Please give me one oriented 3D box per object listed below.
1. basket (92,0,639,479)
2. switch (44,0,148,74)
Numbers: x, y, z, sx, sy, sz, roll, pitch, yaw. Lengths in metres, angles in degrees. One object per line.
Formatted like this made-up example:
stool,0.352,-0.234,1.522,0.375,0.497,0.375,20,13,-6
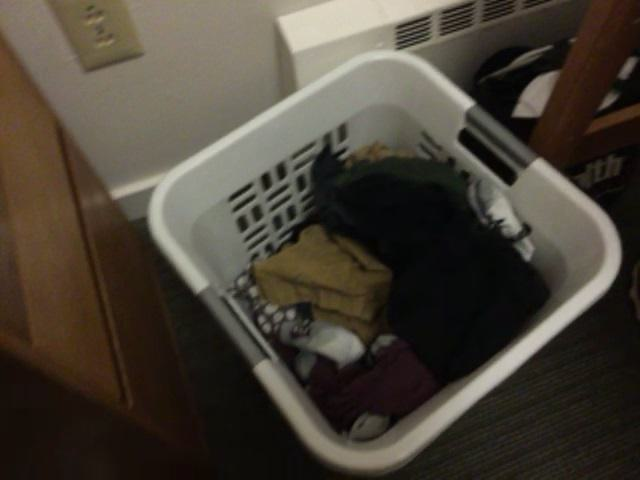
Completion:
basket,0.060,0.020,0.870,0.540,0.360,0.600,-23,63,-8
switch,-0.290,-0.280,0.760,0.090,0.120,0.010,-23,63,-8
